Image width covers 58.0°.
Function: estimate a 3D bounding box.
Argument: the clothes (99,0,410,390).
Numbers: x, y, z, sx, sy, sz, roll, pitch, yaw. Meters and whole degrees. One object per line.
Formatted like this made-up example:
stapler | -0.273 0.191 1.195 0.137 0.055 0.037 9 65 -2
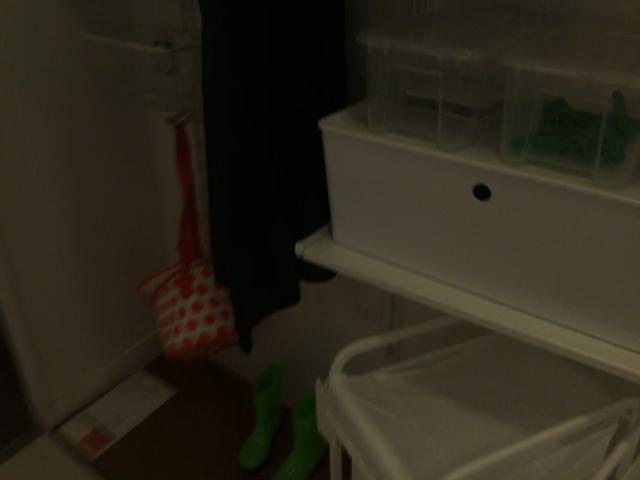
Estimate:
clothes | -0.080 -0.370 0.960 0.280 1.180 0.450 19 37 30
